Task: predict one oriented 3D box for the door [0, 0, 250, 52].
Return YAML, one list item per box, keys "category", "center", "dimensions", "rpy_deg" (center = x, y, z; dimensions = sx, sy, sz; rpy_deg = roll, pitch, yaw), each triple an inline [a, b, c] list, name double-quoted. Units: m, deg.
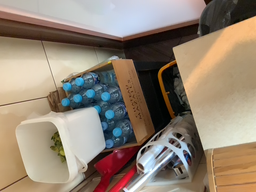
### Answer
- category: "door"
  center: [-0.150, -0.250, 0.510]
  dimensions: [0.830, 2.080, 0.060]
  rpy_deg: [-6, 96, 27]
